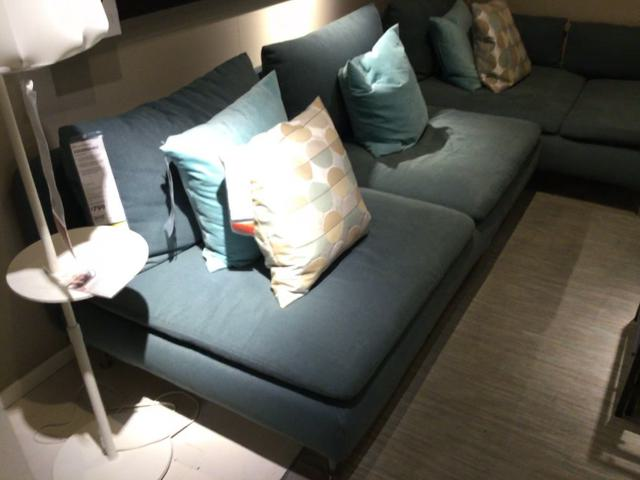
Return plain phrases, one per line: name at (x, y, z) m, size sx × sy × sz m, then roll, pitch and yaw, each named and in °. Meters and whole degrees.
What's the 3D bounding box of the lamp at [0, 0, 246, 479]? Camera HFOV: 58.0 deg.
lamp at (-0.640, -0.030, 1.210) m, size 0.670 × 1.410 × 0.390 m, roll 13°, pitch 33°, yaw 31°
